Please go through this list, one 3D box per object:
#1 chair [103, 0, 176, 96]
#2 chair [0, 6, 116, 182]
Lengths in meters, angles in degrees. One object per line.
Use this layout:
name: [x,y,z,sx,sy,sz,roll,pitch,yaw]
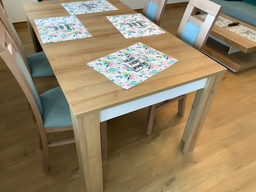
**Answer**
chair: [0.070,-0.580,2.110,0.480,1.000,0.450,-16,44,-23]
chair: [-0.410,0.020,1.360,0.520,0.990,0.410,-15,44,-22]
